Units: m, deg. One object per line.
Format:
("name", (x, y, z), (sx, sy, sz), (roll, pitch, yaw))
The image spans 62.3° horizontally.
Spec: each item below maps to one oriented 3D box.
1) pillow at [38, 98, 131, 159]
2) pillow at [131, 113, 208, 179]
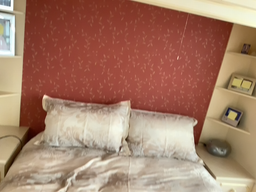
("pillow", (-0.350, 0.260, 1.810), (0.680, 0.340, 0.200), (-11, 10, -9))
("pillow", (0.370, 0.440, 1.960), (0.560, 0.340, 0.270), (-23, 6, -6))
